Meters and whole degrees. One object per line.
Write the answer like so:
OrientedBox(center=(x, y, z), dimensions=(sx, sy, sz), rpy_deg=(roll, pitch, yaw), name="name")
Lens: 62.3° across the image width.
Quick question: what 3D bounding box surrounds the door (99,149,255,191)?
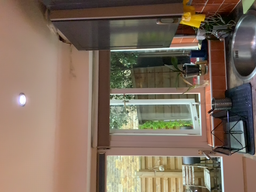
OrientedBox(center=(0.700, 0.850, 1.850), dimensions=(0.060, 1.910, 0.730), rpy_deg=(11, -101, -86), name="door")
